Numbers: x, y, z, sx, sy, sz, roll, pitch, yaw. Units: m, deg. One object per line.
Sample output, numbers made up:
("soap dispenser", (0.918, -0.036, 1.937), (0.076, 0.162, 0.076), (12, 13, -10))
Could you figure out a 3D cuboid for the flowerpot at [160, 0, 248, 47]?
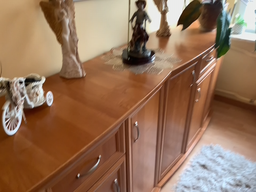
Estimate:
("flowerpot", (0.620, -0.690, 1.620), (0.390, 0.350, 0.790), (21, 37, 30))
